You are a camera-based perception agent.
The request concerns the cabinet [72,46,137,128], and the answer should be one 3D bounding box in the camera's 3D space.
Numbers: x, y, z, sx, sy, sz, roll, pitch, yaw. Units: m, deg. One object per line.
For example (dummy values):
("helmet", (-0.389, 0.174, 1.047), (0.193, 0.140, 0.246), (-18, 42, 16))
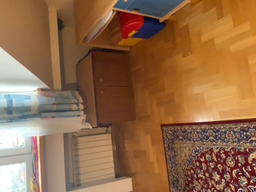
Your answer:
("cabinet", (-0.360, -0.080, 2.920), (0.710, 0.560, 0.950), (-17, 77, 57))
